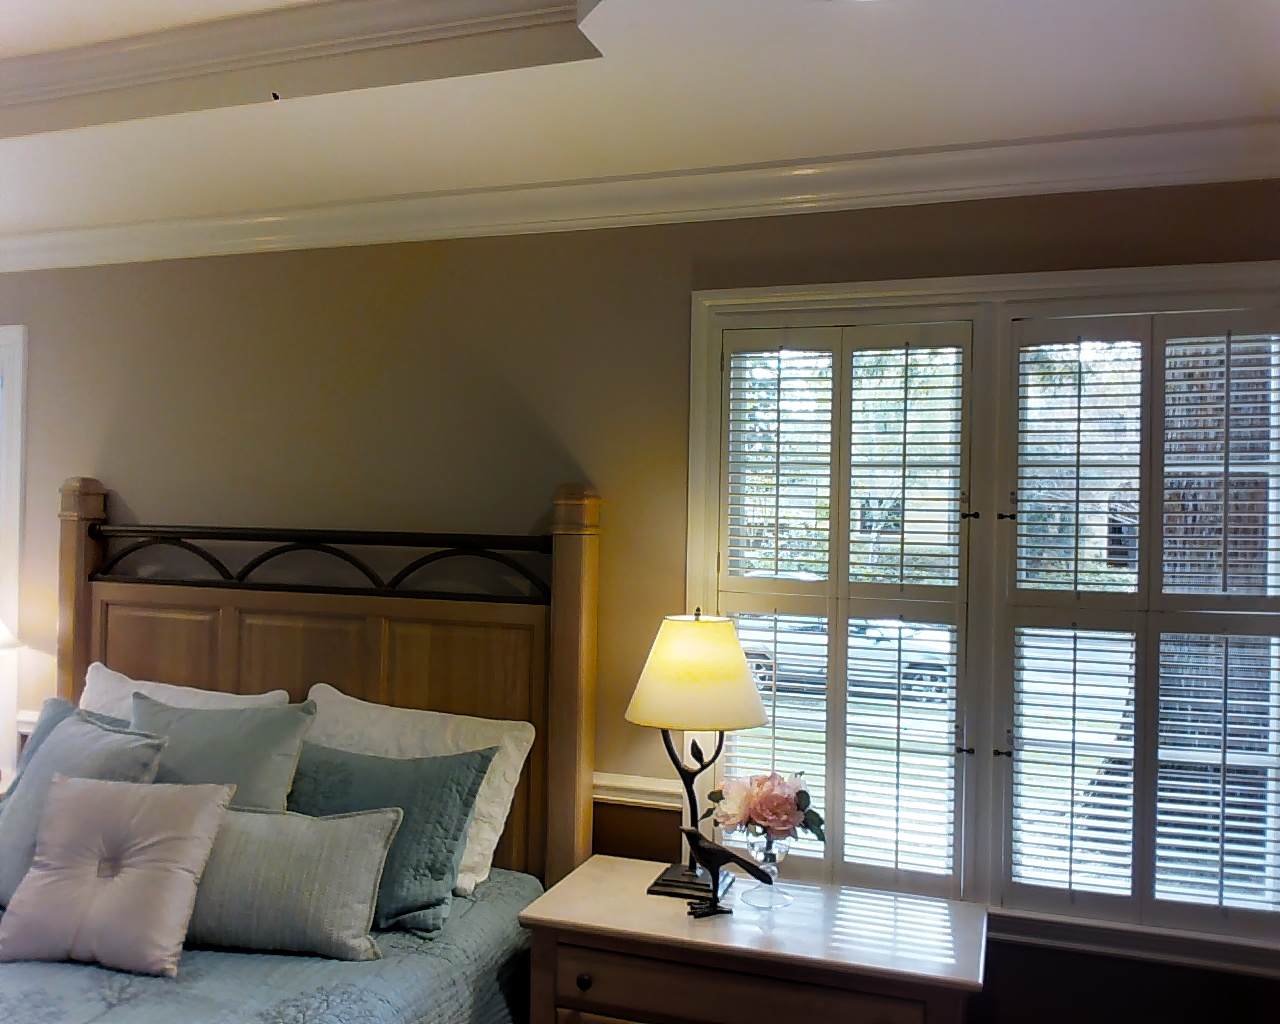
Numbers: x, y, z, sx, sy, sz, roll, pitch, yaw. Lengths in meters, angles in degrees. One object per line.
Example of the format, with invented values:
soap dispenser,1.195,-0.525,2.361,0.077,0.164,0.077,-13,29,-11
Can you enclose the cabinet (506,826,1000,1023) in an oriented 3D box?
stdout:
cabinet,0.260,1.190,2.340,0.970,0.760,0.520,1,0,19

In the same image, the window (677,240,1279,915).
window,0.790,0.120,2.430,1.400,1.360,0.160,1,0,19

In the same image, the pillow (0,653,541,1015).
pillow,-1.060,0.630,2.480,1.390,0.410,0.920,1,0,19
